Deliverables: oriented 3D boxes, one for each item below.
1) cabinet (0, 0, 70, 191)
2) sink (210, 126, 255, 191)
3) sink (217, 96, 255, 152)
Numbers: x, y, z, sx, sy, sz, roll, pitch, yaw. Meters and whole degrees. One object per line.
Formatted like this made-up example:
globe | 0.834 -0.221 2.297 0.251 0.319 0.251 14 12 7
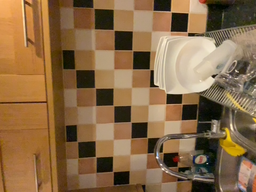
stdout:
cabinet | -0.490 -0.010 0.930 0.310 0.380 1.160 -129 39 -74
sink | 0.620 0.420 1.010 0.500 0.160 0.400 -129 39 -74
sink | 0.590 0.130 1.000 0.390 0.110 0.180 -129 39 -74
